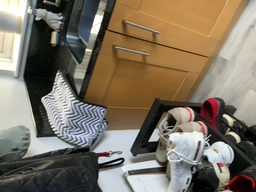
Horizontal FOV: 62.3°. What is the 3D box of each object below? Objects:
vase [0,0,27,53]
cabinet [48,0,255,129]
[{"bbox_3d":[-0.820,-0.460,1.250,0.300,0.340,0.250,51,126,43],"label":"vase"},{"bbox_3d":[0.100,-0.400,1.320,0.590,0.830,1.040,51,126,43],"label":"cabinet"}]
